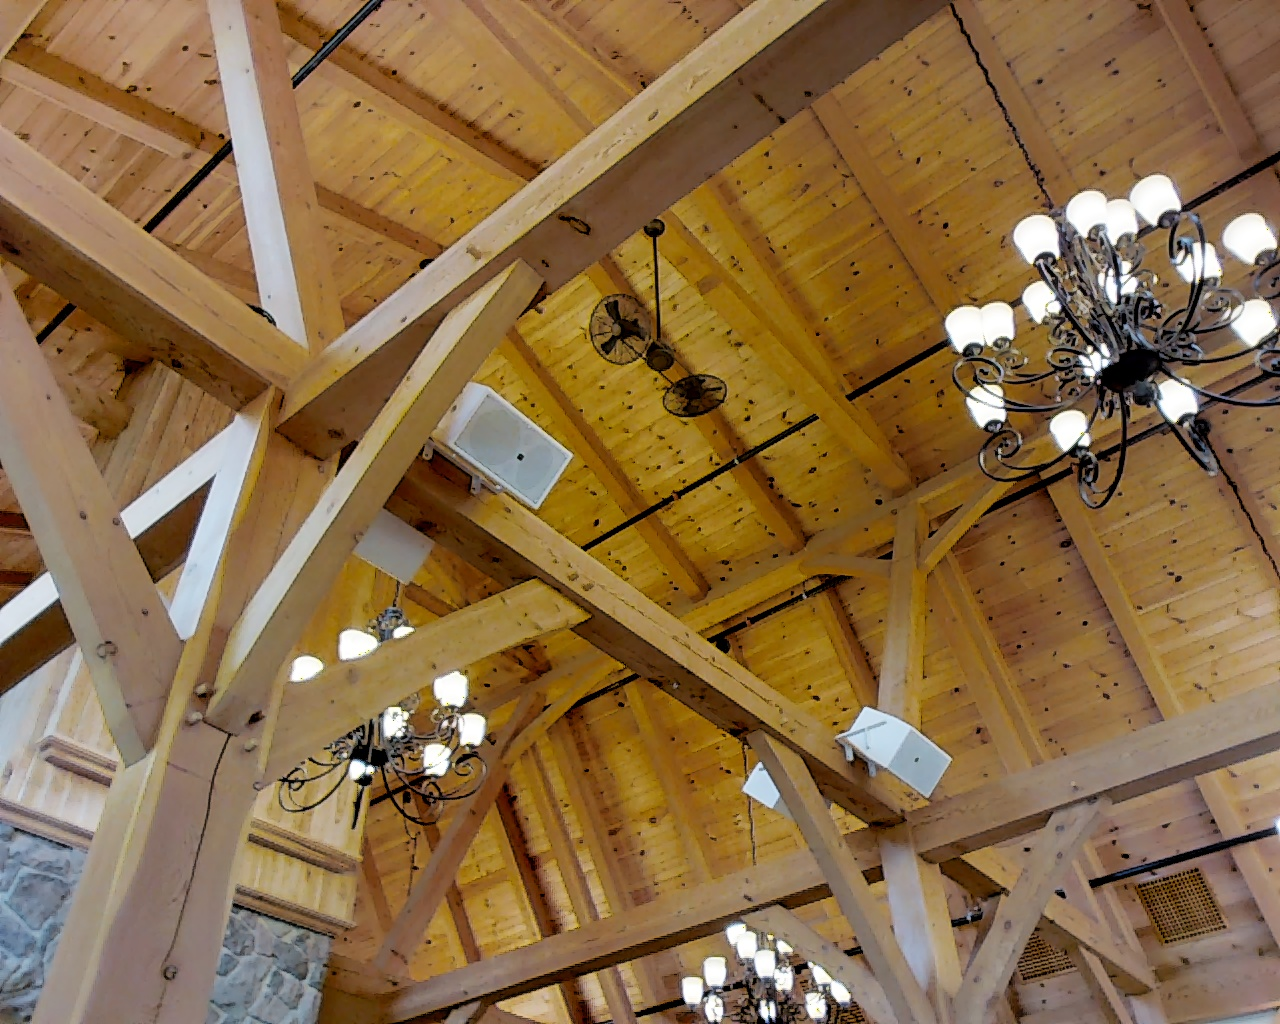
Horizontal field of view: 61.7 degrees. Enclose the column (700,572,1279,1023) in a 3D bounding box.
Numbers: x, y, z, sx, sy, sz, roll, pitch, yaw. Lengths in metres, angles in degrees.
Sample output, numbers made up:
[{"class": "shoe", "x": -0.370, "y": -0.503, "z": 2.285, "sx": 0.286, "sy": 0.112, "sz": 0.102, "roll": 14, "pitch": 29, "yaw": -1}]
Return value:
[{"class": "column", "x": 1.579, "y": 3.192, "z": 5.040, "sx": 1.929, "sy": 4.961, "sz": 2.971, "roll": 3, "pitch": -42, "yaw": -5}]
